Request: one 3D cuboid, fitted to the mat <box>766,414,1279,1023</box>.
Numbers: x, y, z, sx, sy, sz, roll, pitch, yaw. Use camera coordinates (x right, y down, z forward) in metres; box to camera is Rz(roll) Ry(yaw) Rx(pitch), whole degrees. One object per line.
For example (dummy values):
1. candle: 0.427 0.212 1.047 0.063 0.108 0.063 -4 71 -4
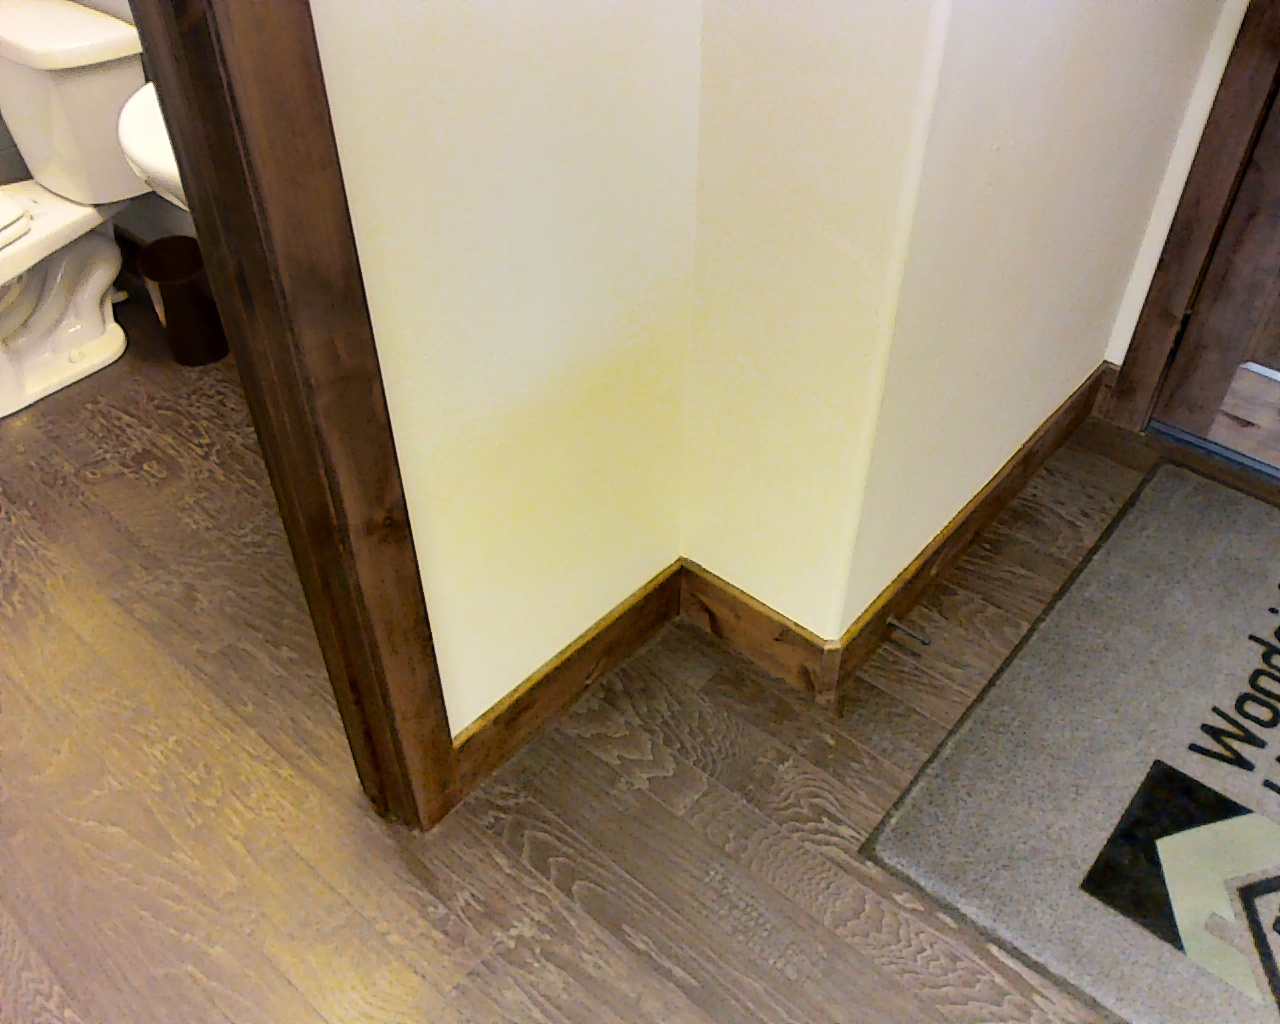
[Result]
1. mat: 1.000 0.330 1.750 1.040 0.020 1.260 30 49 29
